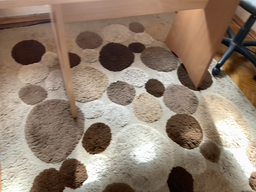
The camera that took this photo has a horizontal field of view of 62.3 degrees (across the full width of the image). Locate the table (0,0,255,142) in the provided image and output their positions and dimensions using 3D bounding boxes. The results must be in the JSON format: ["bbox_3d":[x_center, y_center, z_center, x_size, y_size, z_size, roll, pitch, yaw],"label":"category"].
[{"bbox_3d":[0.040,-0.400,1.220,1.210,0.800,0.730,-12,56,-19],"label":"table"}]
